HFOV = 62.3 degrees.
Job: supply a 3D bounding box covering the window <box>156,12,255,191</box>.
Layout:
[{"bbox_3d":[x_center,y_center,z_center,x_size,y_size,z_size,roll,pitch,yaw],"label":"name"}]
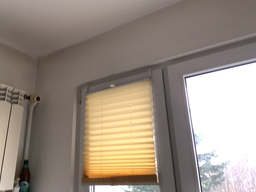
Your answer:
[{"bbox_3d":[0.470,0.420,0.800,0.560,1.510,0.200,-11,-20,25],"label":"window"}]
